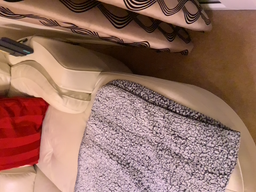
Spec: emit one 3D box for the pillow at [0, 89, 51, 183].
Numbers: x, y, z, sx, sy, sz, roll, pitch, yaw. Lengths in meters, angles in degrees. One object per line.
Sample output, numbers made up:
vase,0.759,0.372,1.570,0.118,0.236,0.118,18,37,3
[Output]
pillow,-0.720,0.240,1.190,0.160,0.460,0.560,53,133,47
